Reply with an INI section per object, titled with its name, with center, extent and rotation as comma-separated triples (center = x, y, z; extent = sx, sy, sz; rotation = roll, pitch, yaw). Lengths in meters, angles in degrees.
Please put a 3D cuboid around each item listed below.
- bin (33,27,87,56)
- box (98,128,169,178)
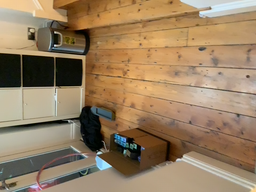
[bin]
center = -0.820, -0.630, 2.550
extent = 0.420, 0.480, 0.260
rotation = 10, 101, 47
[box]
center = 0.040, 0.440, 1.760
extent = 0.430, 0.390, 0.150
rotation = 21, 109, 45
